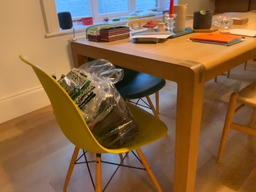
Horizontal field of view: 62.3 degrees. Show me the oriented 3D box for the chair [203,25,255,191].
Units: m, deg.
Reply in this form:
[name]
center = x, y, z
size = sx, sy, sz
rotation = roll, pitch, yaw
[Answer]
[chair]
center = 0.870, 0.040, 1.190
size = 0.580, 0.800, 0.500
rotation = -14, 27, -22
